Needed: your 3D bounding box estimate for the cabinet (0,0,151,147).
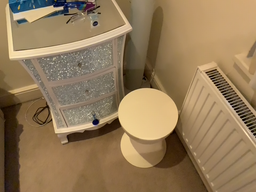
[{"bbox_3d":[-0.260,-0.150,1.250,0.580,0.800,0.460,-16,56,-12],"label":"cabinet"}]
